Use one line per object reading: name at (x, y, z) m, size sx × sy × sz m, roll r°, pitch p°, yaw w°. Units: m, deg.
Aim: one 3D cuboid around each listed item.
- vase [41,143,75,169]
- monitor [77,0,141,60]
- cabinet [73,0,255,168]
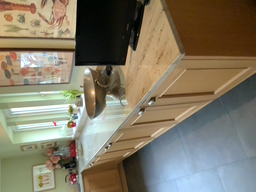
vase at (-1.460, 1.240, 4.390) m, size 0.420 × 0.610 × 0.360 m, roll 128°, pitch 134°, yaw -58°
monitor at (-0.120, -0.440, 1.270) m, size 0.070 × 0.320 × 0.480 m, roll -115°, pitch 31°, yaw -42°
cabinet at (-0.040, 0.330, 2.800) m, size 3.690 × 0.910 × 0.600 m, roll 128°, pitch 134°, yaw -58°
